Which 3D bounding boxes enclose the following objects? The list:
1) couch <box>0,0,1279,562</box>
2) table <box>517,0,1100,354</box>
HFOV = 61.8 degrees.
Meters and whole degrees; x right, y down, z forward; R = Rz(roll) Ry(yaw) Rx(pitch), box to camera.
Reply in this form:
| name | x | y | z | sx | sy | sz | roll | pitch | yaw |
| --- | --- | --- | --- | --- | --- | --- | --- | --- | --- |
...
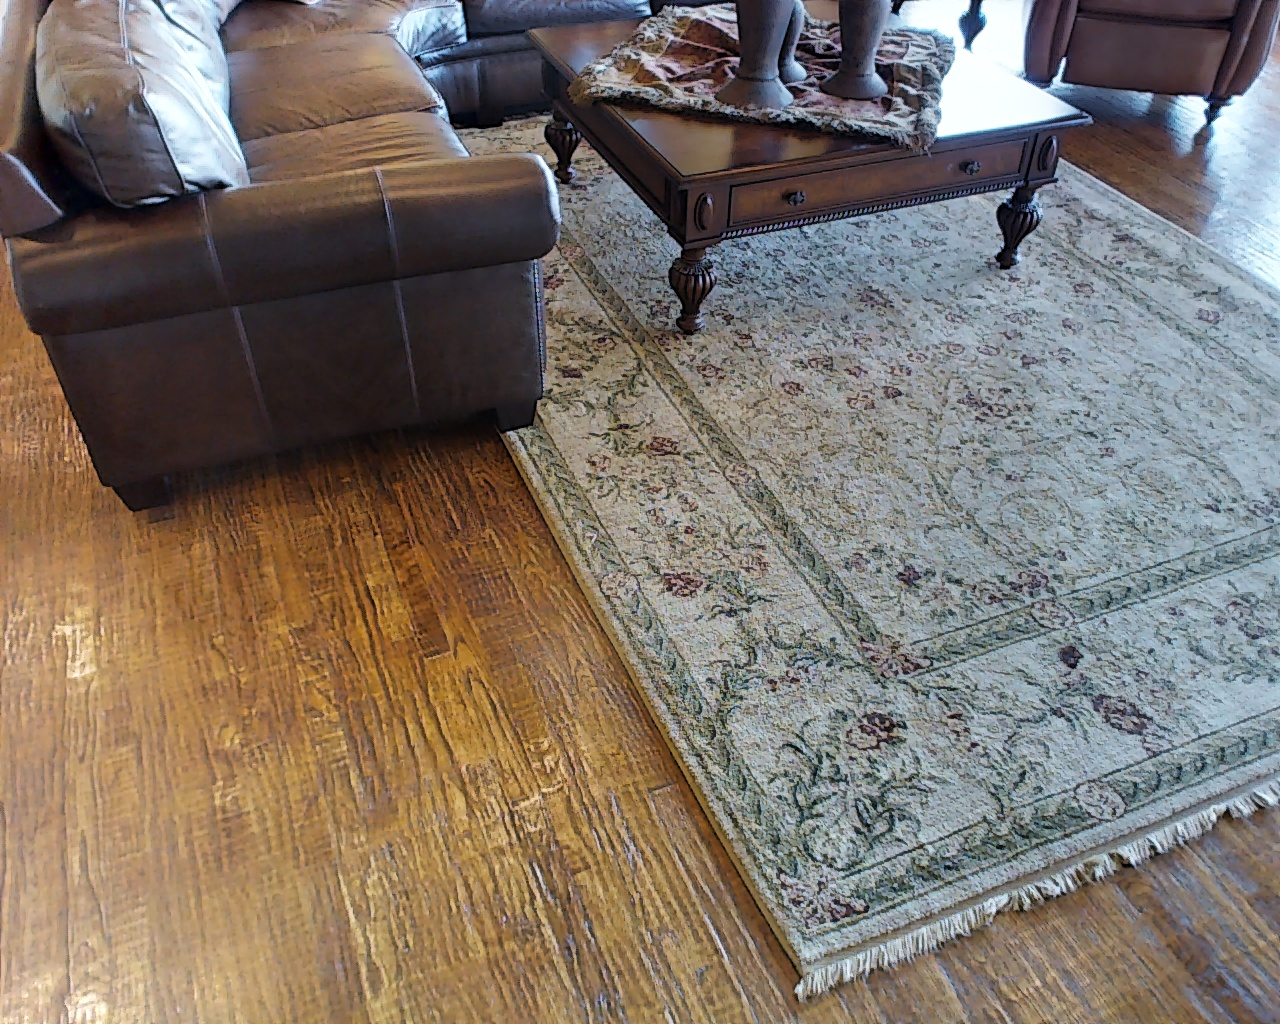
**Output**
| name | x | y | z | sx | sy | sz | roll | pitch | yaw |
| --- | --- | --- | --- | --- | --- | --- | --- | --- | --- |
| couch | -0.230 | -1.510 | 3.420 | 3.040 | 0.940 | 2.930 | -14 | 44 | -17 |
| table | 0.420 | -1.140 | 3.280 | 1.240 | 0.510 | 1.240 | -15 | 44 | -17 |
